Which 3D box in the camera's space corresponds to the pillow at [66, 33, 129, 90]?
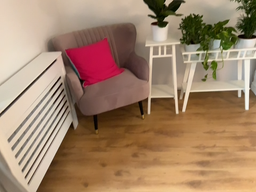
[{"bbox_3d":[-0.300,-0.340,2.210,0.550,0.420,0.180,16,0,-42],"label":"pillow"}]
